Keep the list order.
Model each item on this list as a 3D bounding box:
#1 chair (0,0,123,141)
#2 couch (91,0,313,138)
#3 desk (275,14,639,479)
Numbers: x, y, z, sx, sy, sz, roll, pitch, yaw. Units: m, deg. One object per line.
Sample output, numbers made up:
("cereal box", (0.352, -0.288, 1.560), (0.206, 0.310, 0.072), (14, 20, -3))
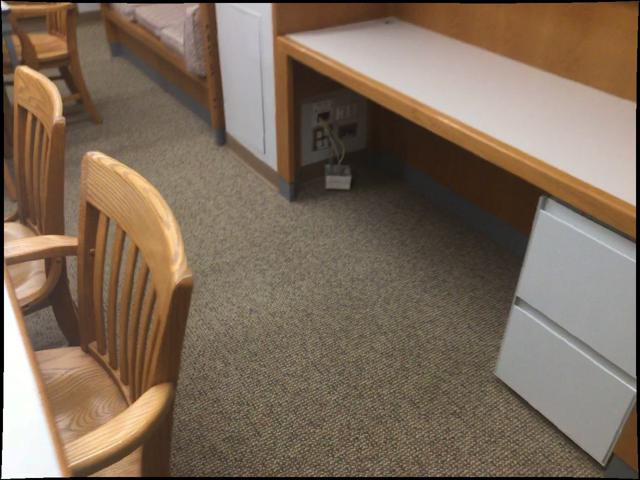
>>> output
("chair", (-1.506, -1.083, 3.000), (0.619, 0.872, 0.680), (-18, 34, -29))
("couch", (-0.808, -1.413, 3.440), (0.649, 1.012, 1.819), (-18, 34, -28))
("desk", (0.549, -0.160, 1.920), (0.609, 0.872, 1.729), (-16, 33, -30))
